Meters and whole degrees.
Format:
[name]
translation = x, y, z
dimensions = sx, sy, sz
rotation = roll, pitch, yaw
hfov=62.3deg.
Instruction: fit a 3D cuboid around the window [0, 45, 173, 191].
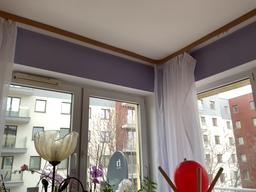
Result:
[window]
translation = -0.350, 0.610, 2.020
dimensions = 1.670, 1.730, 0.430
rotation = 10, -20, -32
